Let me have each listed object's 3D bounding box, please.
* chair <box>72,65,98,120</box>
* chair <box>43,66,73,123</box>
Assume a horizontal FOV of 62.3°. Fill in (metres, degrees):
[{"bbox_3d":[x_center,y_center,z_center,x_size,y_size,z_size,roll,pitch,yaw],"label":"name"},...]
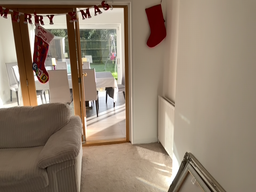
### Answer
[{"bbox_3d":[-0.900,-0.090,4.540,0.460,1.070,0.460,-2,15,-9],"label":"chair"},{"bbox_3d":[-1.420,-0.050,4.380,0.470,1.070,0.460,-3,15,-11],"label":"chair"}]
